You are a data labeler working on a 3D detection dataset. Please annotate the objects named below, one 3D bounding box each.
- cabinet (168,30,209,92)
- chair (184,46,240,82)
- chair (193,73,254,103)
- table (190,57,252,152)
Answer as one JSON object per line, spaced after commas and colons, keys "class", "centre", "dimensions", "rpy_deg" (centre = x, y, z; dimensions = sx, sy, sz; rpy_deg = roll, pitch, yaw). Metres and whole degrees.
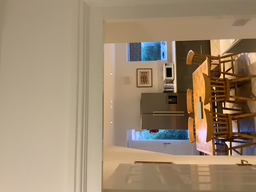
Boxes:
{"class": "cabinet", "centre": [1.640, -0.940, 5.880], "dimensions": [0.580, 0.910, 1.590], "rpy_deg": [63, -154, -83]}
{"class": "chair", "centre": [1.560, -0.590, 4.040], "dimensions": [0.500, 0.860, 0.550], "rpy_deg": [65, -156, -86]}
{"class": "chair", "centre": [1.570, -0.120, 3.580], "dimensions": [0.500, 0.800, 0.440], "rpy_deg": [54, -144, -85]}
{"class": "table", "centre": [1.640, 0.180, 3.940], "dimensions": [0.960, 0.710, 1.550], "rpy_deg": [67, -157, -83]}
